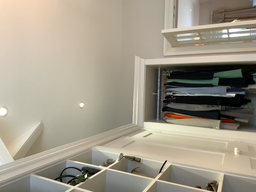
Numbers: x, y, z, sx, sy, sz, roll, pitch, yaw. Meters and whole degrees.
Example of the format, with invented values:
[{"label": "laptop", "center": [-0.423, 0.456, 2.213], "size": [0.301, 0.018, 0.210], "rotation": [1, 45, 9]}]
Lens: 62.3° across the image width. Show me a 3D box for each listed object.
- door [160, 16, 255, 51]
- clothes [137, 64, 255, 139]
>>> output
[{"label": "door", "center": [1.550, -0.810, 2.810], "size": [0.910, 2.040, 0.070], "rotation": [15, -101, -63]}, {"label": "clothes", "center": [0.900, 0.010, 2.820], "size": [0.650, 1.410, 0.790], "rotation": [-6, -81, -63]}]
